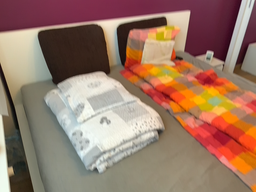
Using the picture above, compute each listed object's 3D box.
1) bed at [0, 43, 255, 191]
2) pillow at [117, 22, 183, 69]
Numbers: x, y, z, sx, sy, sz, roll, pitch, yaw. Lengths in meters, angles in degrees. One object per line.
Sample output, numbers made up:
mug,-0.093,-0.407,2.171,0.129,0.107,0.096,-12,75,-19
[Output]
bed,0.310,0.360,1.600,2.010,0.620,2.140,-16,37,-25
pillow,0.210,-0.510,2.090,0.580,0.330,0.240,-14,36,-23
